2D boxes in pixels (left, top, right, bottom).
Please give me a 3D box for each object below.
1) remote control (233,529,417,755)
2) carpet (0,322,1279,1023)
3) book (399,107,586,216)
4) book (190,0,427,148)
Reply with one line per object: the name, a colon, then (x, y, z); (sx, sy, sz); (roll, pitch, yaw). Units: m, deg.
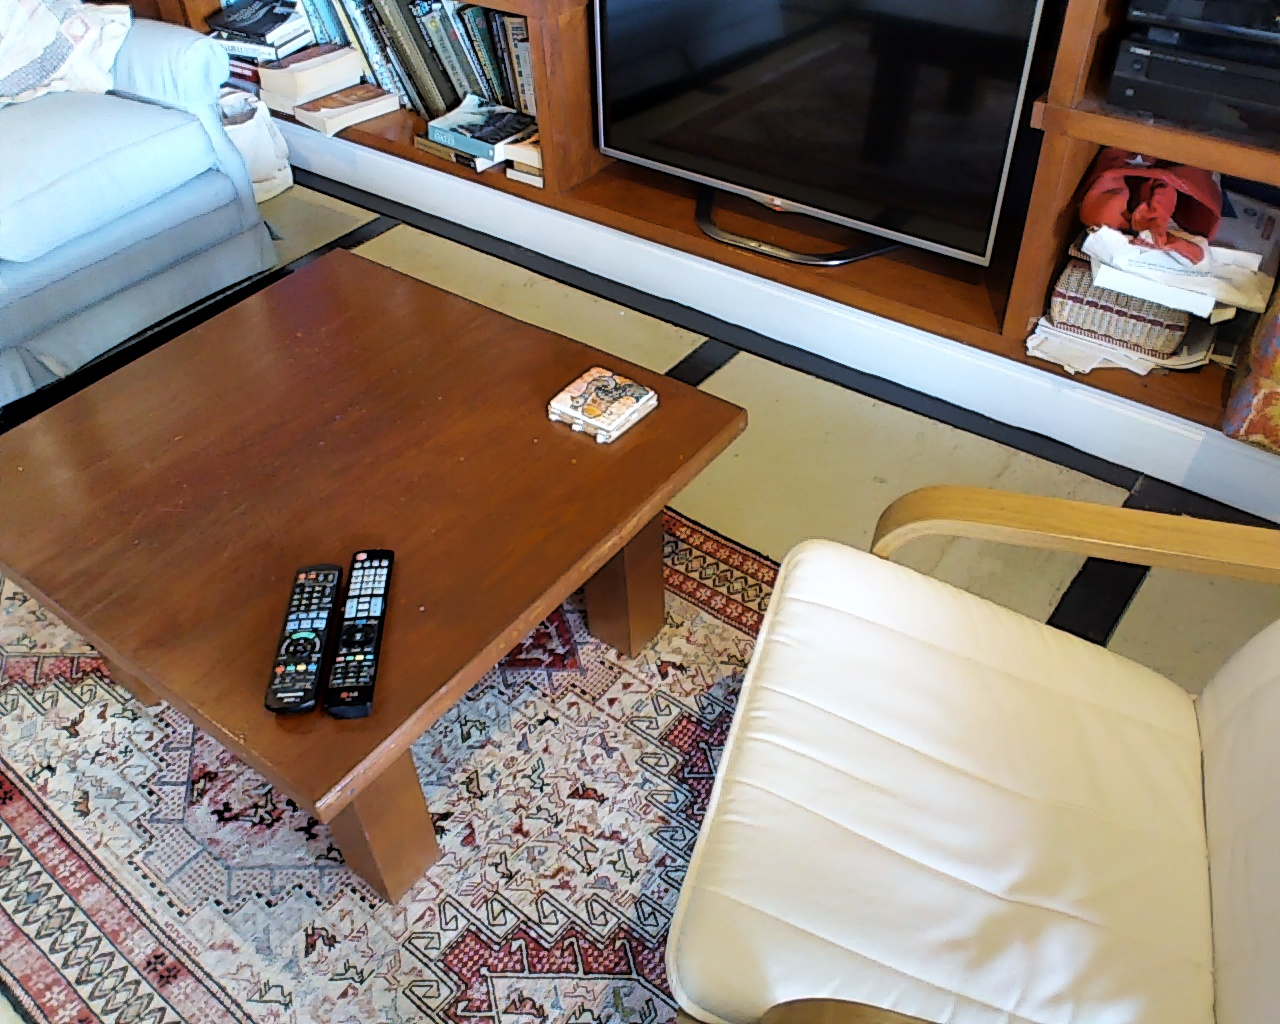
remote control: (-0.330, 0.130, 1.160); (0.160, 0.030, 0.280); (-5, 41, -4)
carpet: (-0.330, 0.320, 1.620); (2.100, 0.010, 1.300); (27, 49, 29)
book: (-0.370, -0.880, 2.680); (0.460, 0.120, 0.160); (24, 47, 27)
book: (-0.930, -1.240, 3.000); (0.690, 0.210, 0.230); (28, 49, 30)
